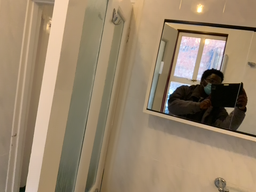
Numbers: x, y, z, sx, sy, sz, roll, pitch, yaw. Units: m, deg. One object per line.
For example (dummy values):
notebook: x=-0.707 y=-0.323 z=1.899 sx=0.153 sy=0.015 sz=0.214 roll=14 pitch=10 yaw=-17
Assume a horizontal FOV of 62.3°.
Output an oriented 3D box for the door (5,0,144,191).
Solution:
door: x=-0.220 y=0.490 z=0.950 sx=0.080 sy=1.920 sz=0.830 roll=12 pitch=7 yaw=12
